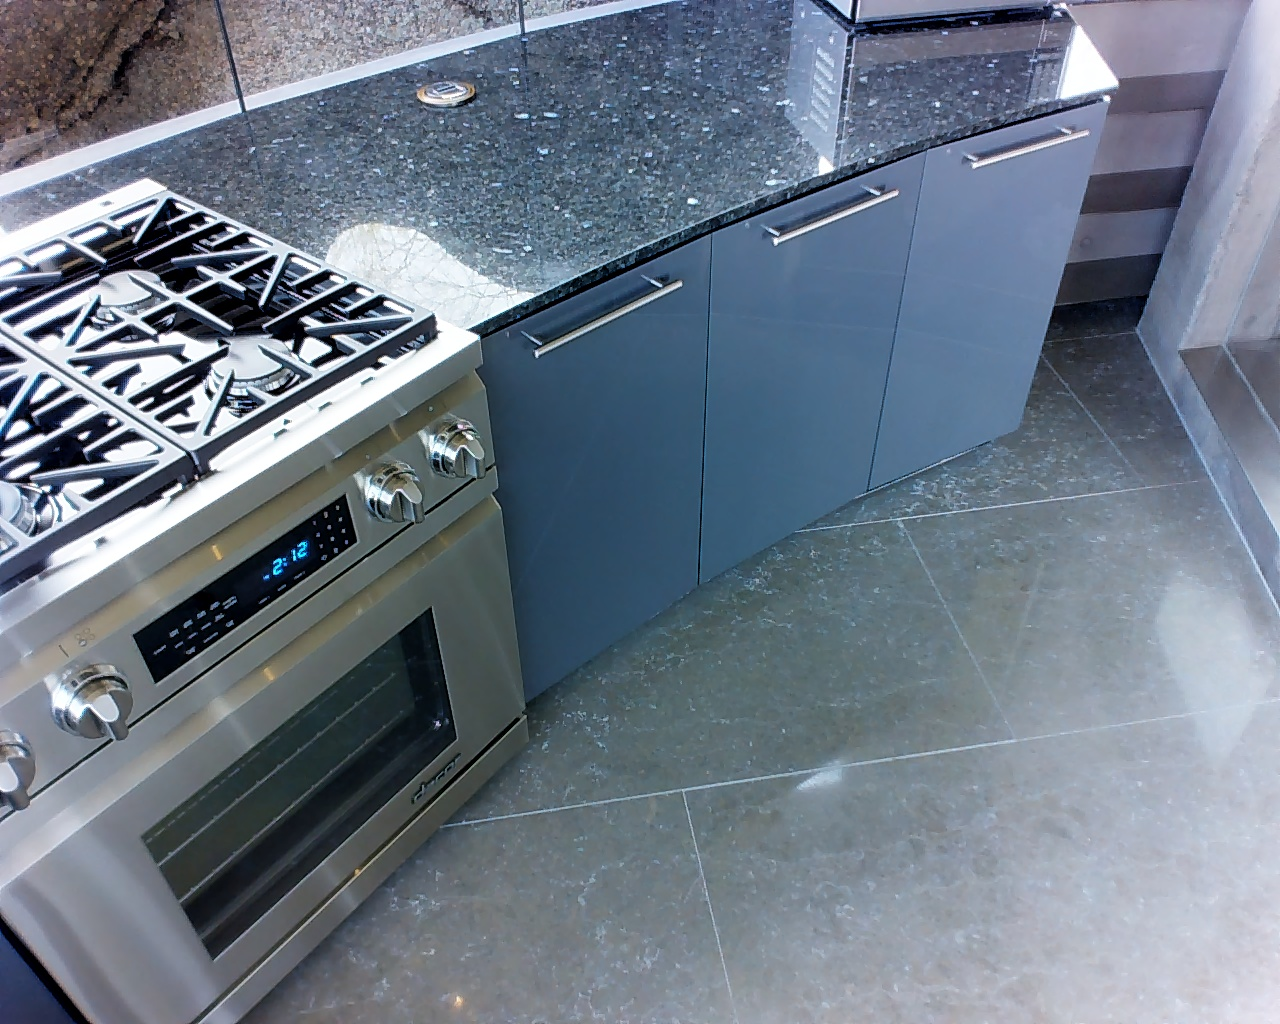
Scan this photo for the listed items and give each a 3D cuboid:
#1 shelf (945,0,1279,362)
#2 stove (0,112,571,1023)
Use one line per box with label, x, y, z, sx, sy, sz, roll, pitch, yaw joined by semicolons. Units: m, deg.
shelf;1.130;-0.900;2.710;0.400;0.870;0.490;-7;43;-6
stove;-0.780;0.110;1.610;1.020;0.940;0.800;26;49;26
